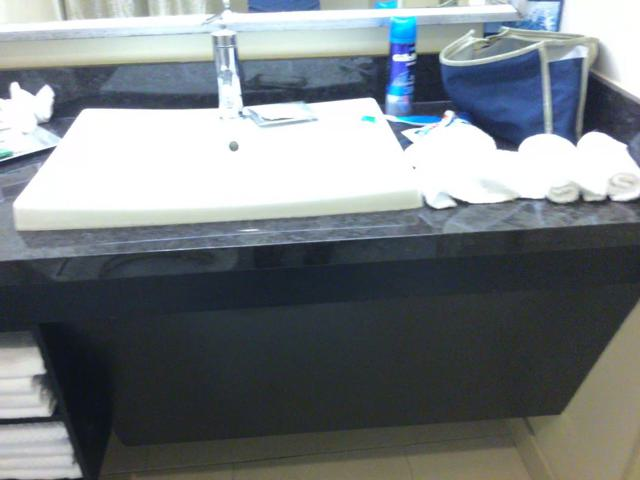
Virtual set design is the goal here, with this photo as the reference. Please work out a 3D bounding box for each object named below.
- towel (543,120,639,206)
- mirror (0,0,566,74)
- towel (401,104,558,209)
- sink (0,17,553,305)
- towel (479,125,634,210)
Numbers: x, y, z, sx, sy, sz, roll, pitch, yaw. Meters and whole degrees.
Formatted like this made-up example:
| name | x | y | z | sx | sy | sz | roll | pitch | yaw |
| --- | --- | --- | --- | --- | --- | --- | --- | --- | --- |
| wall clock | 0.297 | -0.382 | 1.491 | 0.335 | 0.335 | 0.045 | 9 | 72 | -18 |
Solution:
| name | x | y | z | sx | sy | sz | roll | pitch | yaw |
| --- | --- | --- | --- | --- | --- | --- | --- | --- | --- |
| towel | 0.460 | -0.130 | 0.930 | 0.100 | 0.050 | 0.220 | -4 | 30 | -4 |
| mirror | -0.140 | -0.430 | 1.150 | 1.260 | 0.130 | 0.080 | -4 | 30 | -4 |
| towel | 0.240 | -0.140 | 0.920 | 0.170 | 0.080 | 0.220 | -4 | 30 | -4 |
| sink | -0.090 | -0.180 | 1.010 | 0.750 | 0.290 | 0.490 | -4 | 30 | -4 |
| towel | 0.360 | -0.120 | 0.910 | 0.150 | 0.050 | 0.200 | -4 | 30 | -4 |
